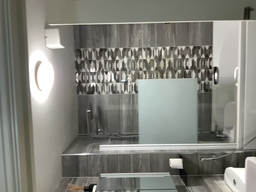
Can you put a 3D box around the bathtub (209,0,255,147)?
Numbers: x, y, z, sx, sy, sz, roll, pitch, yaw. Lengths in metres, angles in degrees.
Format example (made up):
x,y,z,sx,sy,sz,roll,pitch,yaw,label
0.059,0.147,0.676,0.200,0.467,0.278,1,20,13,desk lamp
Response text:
x,y,z,sx,sy,sz,roll,pitch,yaw,label
1.350,-0.330,2.430,0.680,0.560,1.630,-98,6,-85,bathtub
